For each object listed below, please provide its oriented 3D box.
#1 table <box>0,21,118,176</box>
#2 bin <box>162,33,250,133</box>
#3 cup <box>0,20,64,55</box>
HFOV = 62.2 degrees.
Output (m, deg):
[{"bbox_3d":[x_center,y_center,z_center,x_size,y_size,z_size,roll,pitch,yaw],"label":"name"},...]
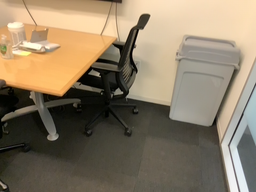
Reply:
[{"bbox_3d":[-0.860,-0.120,2.030,1.210,0.740,1.200,12,33,9],"label":"table"},{"bbox_3d":[0.710,-0.110,2.110,0.570,0.880,0.290,11,33,8],"label":"bin"},{"bbox_3d":[-0.880,-0.520,1.840,0.490,0.140,0.380,9,33,6],"label":"cup"}]
